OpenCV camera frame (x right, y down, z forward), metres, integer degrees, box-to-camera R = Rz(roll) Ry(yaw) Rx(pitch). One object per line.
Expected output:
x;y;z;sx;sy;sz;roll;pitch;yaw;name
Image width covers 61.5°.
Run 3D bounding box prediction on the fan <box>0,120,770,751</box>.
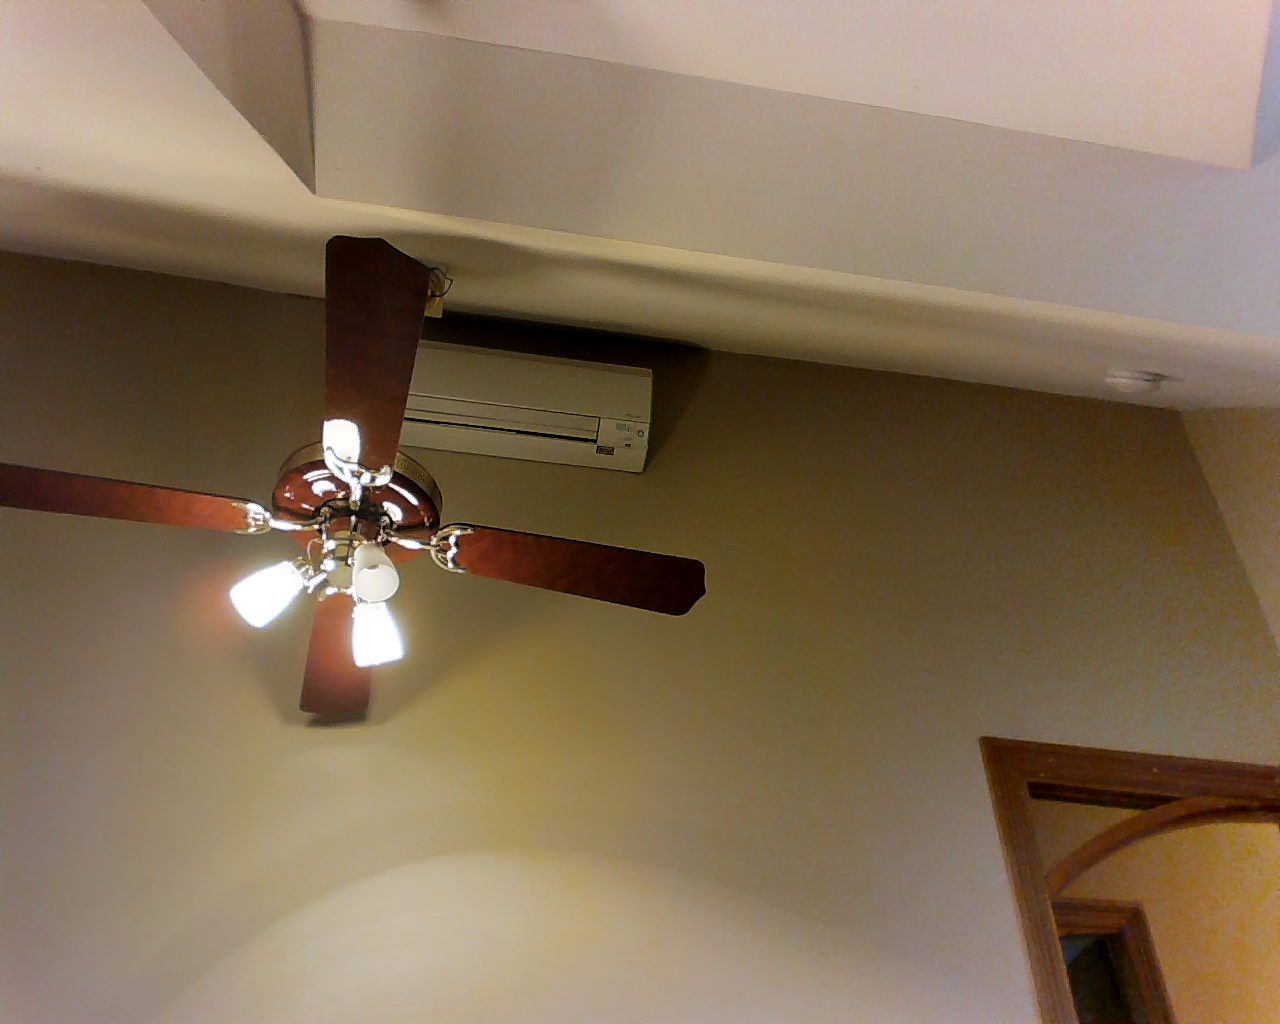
-0.480;0.010;1.900;1.020;0.150;1.030;-24;-47;27;fan
